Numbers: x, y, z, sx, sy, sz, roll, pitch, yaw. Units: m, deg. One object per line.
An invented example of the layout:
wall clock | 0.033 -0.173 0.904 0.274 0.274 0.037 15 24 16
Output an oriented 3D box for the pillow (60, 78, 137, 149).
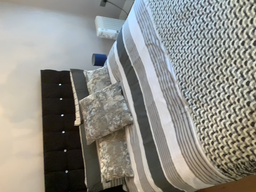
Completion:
pillow | -0.250 0.130 1.980 0.520 0.500 0.200 43 117 5

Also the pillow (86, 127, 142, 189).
pillow | -0.120 0.530 1.870 0.140 0.310 0.410 -41 75 37
